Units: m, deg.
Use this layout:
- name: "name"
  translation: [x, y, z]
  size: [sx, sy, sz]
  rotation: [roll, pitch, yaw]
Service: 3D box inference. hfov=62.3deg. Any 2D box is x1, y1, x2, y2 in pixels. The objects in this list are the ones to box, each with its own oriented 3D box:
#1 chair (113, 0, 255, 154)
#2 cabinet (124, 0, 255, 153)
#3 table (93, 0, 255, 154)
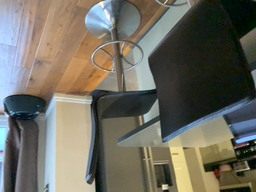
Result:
- name: "chair"
  translation: [0.260, -0.310, 0.960]
  size: [0.450, 1.020, 0.450]
  rotation: [7, 152, -29]
- name: "cabinet"
  translation: [0.540, -0.110, 1.620]
  size: [0.700, 0.900, 0.850]
  rotation: [9, 151, -33]
- name: "table"
  translation: [0.710, -0.350, 1.150]
  size: [0.980, 0.900, 1.950]
  rotation: [10, 151, -34]
